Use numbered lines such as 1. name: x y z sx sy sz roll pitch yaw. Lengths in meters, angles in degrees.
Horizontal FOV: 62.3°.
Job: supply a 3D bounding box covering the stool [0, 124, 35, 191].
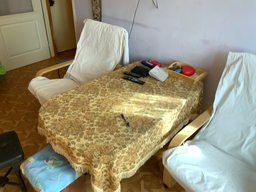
1. stool: -0.920 0.500 1.470 0.380 0.410 0.310 -18 37 -29
